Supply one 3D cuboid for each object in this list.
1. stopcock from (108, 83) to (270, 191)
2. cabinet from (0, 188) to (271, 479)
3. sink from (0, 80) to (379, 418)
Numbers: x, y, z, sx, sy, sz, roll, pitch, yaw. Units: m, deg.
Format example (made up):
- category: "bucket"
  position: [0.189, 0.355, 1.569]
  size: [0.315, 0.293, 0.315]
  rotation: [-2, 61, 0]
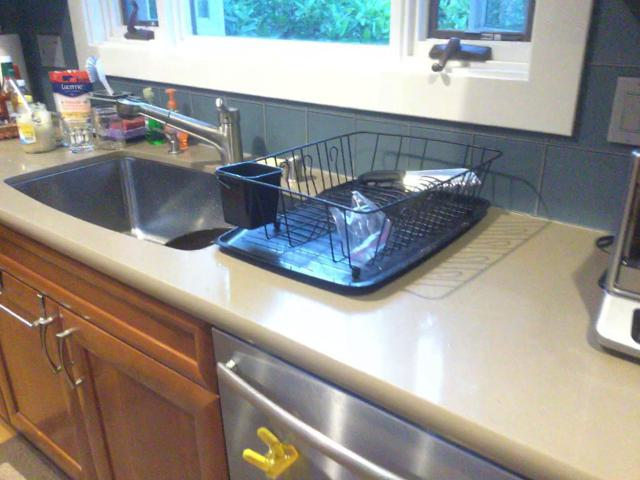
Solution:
- category: "stopcock"
  position: [-0.310, -0.270, 1.440]
  size: [0.180, 0.180, 0.350]
  rotation: [18, 28, 32]
- category: "cabinet"
  position: [-0.880, 0.240, 1.510]
  size: [1.860, 0.800, 0.140]
  rotation: [18, 28, 32]
- category: "sink"
  position: [-0.360, -0.080, 1.370]
  size: [0.750, 0.440, 0.630]
  rotation: [18, 28, 32]
